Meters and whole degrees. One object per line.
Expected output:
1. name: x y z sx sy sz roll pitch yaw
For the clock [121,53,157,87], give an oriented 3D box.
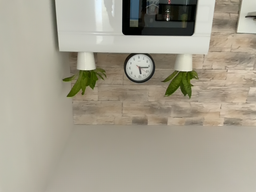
1. clock: 0.060 -0.160 1.280 0.190 0.180 0.120 1 -161 -5
